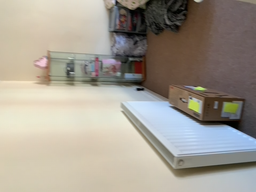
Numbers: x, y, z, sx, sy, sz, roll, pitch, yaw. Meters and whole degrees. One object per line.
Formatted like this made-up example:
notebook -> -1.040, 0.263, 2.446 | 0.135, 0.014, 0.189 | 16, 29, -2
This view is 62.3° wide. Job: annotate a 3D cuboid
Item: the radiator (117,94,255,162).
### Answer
radiator -> 0.430, 0.180, 1.920 | 1.310, 0.740, 0.130 | -146, 58, -68
